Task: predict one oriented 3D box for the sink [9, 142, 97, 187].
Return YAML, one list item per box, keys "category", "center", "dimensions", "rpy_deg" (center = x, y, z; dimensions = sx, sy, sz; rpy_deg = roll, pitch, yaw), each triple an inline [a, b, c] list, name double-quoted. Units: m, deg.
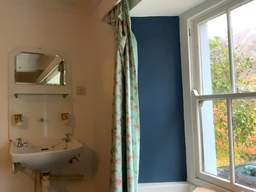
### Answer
- category: "sink"
  center: [-0.660, 0.560, 1.850]
  dimensions: [0.660, 0.200, 0.400]
  rpy_deg: [0, -4, -29]
